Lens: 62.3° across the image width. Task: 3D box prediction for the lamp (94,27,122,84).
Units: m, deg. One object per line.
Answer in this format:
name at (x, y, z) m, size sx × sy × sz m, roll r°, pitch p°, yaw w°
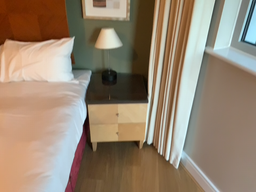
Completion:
lamp at (-0.180, -0.370, 1.960) m, size 0.230 × 0.470 × 0.200 m, roll -1°, pitch 32°, yaw -6°
